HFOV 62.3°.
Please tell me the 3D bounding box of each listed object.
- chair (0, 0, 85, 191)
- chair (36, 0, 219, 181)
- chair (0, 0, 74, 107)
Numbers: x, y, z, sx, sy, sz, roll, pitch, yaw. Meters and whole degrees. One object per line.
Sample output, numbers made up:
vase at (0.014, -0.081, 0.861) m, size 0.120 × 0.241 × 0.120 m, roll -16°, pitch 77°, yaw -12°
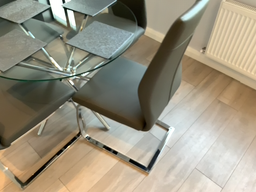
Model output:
chair at (-0.670, -0.020, 1.110) m, size 0.480 × 1.030 × 0.580 m, roll 26°, pitch 52°, yaw 21°
chair at (0.010, -0.070, 1.170) m, size 0.560 × 1.020 × 0.460 m, roll 26°, pitch 52°, yaw 21°
chair at (-0.890, -0.520, 1.570) m, size 0.590 × 1.010 × 0.520 m, roll 21°, pitch 51°, yaw 17°
